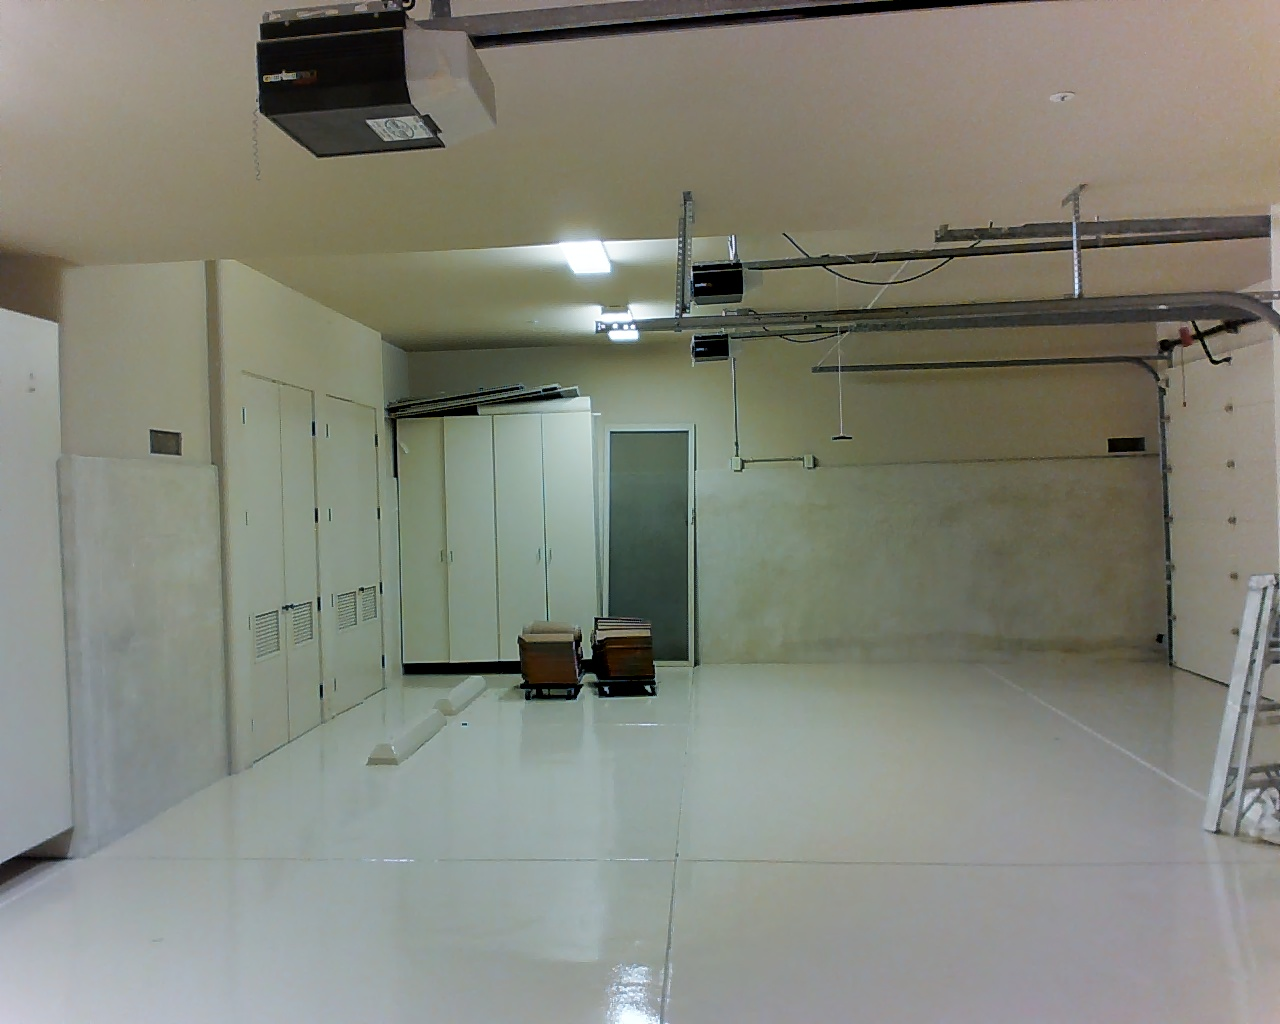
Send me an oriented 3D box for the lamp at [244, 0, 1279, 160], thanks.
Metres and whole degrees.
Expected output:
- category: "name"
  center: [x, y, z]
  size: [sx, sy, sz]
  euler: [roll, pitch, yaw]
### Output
- category: "lamp"
  center: [0.940, -0.920, 2.040]
  size: [3.339, 0.240, 0.310]
  euler: [-2, 2, 4]
